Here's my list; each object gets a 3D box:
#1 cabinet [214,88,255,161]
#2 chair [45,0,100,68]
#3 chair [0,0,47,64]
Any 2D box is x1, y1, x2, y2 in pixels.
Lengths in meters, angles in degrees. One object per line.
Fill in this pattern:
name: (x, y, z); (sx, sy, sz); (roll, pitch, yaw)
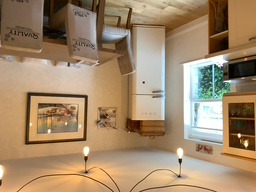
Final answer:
cabinet: (1.550, 0.320, 2.410); (0.300, 0.800, 1.070); (2, 177, -32)
chair: (-0.700, -0.890, 2.640); (0.410, 0.960, 0.610); (3, 176, -43)
chair: (-1.180, -0.900, 2.290); (0.450, 0.970, 0.640); (2, 177, -33)
